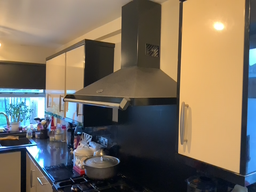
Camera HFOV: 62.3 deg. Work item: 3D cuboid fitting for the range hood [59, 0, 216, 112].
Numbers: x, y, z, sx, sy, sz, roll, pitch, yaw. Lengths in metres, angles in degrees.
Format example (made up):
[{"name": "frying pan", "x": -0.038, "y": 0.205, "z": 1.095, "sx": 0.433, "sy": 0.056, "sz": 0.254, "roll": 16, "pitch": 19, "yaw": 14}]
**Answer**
[{"name": "range hood", "x": -0.030, "y": -0.310, "z": 1.540, "sx": 0.580, "sy": 0.730, "sz": 1.070, "roll": 0, "pitch": 2, "yaw": -37}]
